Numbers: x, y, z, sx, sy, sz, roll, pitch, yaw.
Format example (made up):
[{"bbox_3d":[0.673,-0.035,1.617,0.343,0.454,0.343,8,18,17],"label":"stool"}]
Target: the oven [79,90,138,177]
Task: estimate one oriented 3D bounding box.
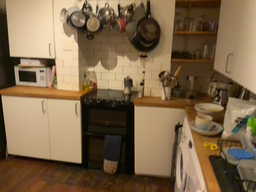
[{"bbox_3d":[-0.220,0.430,2.690,0.590,0.870,0.600,4,15,9],"label":"oven"}]
